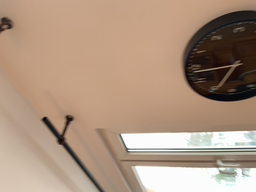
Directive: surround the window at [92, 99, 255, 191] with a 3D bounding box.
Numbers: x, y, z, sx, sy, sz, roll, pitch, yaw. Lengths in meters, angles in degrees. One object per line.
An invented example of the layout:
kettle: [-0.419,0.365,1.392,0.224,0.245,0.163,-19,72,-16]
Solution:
window: [0.720,0.640,1.630,0.180,1.550,1.540,-79,-21,-45]
